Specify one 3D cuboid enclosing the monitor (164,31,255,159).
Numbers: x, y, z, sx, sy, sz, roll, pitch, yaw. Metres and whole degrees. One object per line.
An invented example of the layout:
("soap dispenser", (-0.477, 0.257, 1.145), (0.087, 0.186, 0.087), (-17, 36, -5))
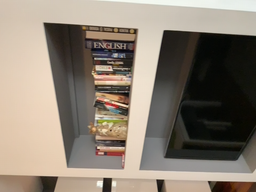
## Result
("monitor", (0.600, 0.080, 1.280), (0.050, 0.600, 0.910), (-91, 5, -52))
